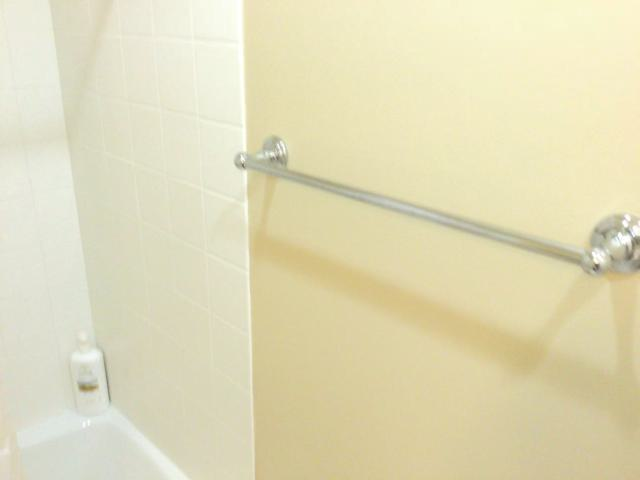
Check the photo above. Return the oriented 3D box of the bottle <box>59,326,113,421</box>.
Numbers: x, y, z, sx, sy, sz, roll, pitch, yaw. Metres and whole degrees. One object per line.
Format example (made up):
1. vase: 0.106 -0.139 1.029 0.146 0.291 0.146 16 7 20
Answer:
1. bottle: -0.750 0.430 1.860 0.090 0.270 0.100 21 29 40
